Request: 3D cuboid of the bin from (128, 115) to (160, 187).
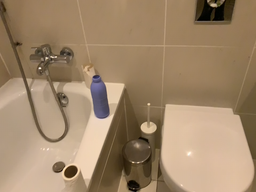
[{"bbox_3d":[0.110,0.340,1.330,0.160,0.310,0.300,3,39,9],"label":"bin"}]
